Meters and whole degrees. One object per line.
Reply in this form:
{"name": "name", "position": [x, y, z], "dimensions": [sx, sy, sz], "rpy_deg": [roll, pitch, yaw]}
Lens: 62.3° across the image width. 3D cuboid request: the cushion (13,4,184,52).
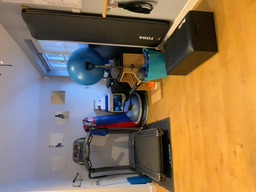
{"name": "cushion", "position": [-0.340, -0.850, 2.830], "dimensions": [0.740, 1.970, 0.180], "rpy_deg": [143, 128, -78]}
